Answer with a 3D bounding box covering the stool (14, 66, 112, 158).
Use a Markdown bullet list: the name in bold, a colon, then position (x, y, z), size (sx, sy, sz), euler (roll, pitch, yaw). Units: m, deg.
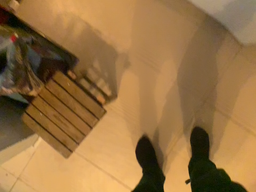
- **stool**: position (-0.270, 0.060, 0.980), size (0.260, 0.280, 0.260), euler (40, 93, -1)
